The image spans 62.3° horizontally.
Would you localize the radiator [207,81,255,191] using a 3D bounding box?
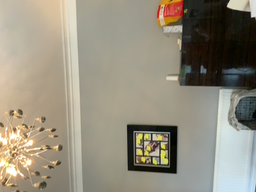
[{"bbox_3d":[1.730,0.940,3.430,0.160,0.730,2.330,-48,-41,-76],"label":"radiator"}]
